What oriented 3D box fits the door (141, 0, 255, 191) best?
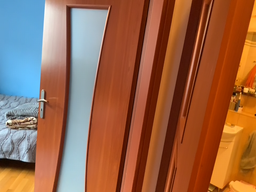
[{"bbox_3d":[0.190,0.440,0.890,0.150,2.070,0.970,12,12,15],"label":"door"}]
